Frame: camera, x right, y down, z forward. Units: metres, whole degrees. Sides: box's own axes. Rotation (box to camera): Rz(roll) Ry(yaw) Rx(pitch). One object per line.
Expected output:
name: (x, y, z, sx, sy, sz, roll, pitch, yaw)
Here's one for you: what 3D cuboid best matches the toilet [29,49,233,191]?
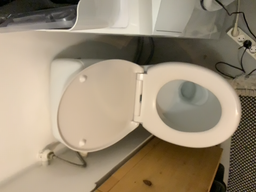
toilet: (0.090, 0.010, 1.000, 0.600, 0.800, 0.360, 15, 109, 27)
